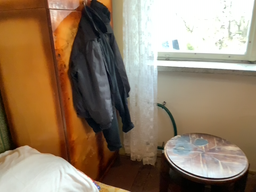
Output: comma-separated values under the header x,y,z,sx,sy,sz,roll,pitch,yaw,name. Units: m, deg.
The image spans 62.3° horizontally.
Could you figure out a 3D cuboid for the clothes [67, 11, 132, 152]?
x,y,z,sx,sy,sz,roll,pitch,yaw,name
-0.180,-0.150,1.770,0.220,1.020,0.580,7,22,21,clothes
